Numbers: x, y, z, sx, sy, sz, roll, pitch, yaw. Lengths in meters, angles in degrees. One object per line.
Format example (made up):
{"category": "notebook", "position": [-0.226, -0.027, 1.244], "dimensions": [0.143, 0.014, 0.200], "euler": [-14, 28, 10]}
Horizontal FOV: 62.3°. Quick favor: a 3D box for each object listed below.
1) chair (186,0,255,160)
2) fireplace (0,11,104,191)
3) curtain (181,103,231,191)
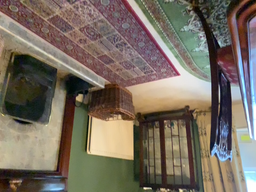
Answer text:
{"category": "chair", "position": [0.730, -0.150, 1.240], "dimensions": [0.530, 0.960, 0.520], "euler": [-13, 156, 30]}
{"category": "fireplace", "position": [-0.910, 0.280, 1.900], "dimensions": [0.730, 1.300, 1.320], "euler": [-10, 157, 26]}
{"category": "curtain", "position": [1.160, 1.290, 3.030], "dimensions": [0.550, 2.350, 0.220], "euler": [-9, 157, 23]}
